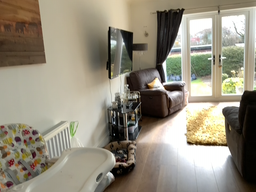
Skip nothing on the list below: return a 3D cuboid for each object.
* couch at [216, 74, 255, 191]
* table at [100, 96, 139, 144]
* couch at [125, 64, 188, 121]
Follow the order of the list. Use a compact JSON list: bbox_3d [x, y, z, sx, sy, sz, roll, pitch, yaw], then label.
[{"bbox_3d":[1.570,0.300,2.190,1.050,0.940,1.100,-2,12,14],"label":"couch"},{"bbox_3d":[-0.110,0.360,3.430,0.400,0.600,0.620,-1,12,16],"label":"table"},{"bbox_3d":[0.670,-0.150,4.650,0.850,0.970,1.170,4,15,36],"label":"couch"}]
